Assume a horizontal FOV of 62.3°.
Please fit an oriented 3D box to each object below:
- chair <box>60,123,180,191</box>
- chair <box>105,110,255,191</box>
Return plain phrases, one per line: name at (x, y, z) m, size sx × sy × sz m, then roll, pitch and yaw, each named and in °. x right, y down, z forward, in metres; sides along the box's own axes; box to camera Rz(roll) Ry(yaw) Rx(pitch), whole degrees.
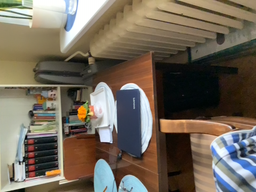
chair at (-0.080, 0.500, 1.860) m, size 0.580 × 0.850 × 0.450 m, roll -10°, pitch 82°, yaw 59°
chair at (0.470, 0.370, 0.870) m, size 0.610 × 0.920 × 0.580 m, roll -9°, pitch 84°, yaw 59°
